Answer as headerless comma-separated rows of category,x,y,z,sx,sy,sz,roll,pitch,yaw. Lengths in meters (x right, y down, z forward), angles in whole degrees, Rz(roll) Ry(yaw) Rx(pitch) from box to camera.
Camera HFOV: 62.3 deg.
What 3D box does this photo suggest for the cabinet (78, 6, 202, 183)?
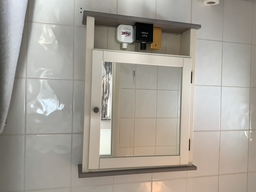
cabinet,0.060,0.000,1.000,0.560,0.720,0.130,1,-179,-16
